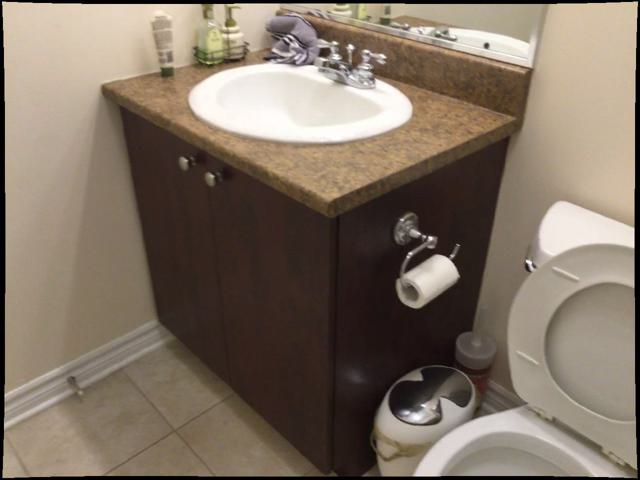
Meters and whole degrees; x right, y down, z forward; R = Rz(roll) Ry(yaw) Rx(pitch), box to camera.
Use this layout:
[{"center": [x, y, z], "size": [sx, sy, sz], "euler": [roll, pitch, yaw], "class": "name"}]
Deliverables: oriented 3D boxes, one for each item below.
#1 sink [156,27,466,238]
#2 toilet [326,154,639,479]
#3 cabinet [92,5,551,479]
[{"center": [-0.020, -0.280, 1.300], "size": [0.480, 0.220, 0.460], "euler": [-28, 43, -35], "class": "sink"}, {"center": [0.440, 0.380, 1.050], "size": [0.700, 0.771, 0.510], "euler": [-28, 43, -35], "class": "toilet"}, {"center": [-0.030, -0.010, 1.490], "size": [0.570, 0.921, 0.820], "euler": [-28, 43, -35], "class": "cabinet"}]
